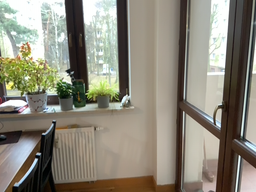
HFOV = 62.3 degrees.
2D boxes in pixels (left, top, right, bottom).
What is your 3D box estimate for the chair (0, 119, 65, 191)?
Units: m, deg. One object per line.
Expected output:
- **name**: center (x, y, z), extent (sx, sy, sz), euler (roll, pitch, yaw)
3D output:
- **chair**: center (-0.880, 0.690, 1.860), extent (0.490, 0.840, 0.480), euler (-2, 13, -4)
